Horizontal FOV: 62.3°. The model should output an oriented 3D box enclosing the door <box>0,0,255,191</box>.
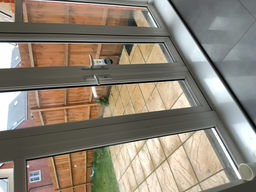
[{"bbox_3d":[-0.320,-0.190,1.870,0.120,2.160,2.240,114,144,-50],"label":"door"}]
